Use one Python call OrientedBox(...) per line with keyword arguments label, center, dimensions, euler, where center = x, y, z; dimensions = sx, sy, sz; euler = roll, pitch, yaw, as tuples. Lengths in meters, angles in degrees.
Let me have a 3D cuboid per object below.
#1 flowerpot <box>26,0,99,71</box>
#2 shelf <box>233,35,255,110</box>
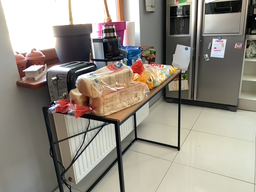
OrientedBox(label="flowerpot", center=(-0.450, -0.710, 1.390), dimensions=(0.240, 1.020, 0.360), euler=(9, 23, 30))
OrientedBox(label="shelf", center=(1.490, -0.290, 2.620), dimensions=(0.220, 0.860, 0.270), euler=(9, 23, 28))
